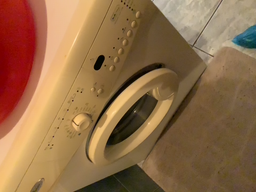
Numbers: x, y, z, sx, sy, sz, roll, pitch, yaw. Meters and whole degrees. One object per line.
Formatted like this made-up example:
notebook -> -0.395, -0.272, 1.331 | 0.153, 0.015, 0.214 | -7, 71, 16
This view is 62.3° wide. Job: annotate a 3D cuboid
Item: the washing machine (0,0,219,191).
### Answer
washing machine -> -0.120, -0.050, 0.850 | 0.550, 0.840, 0.630 | 39, 104, 25
